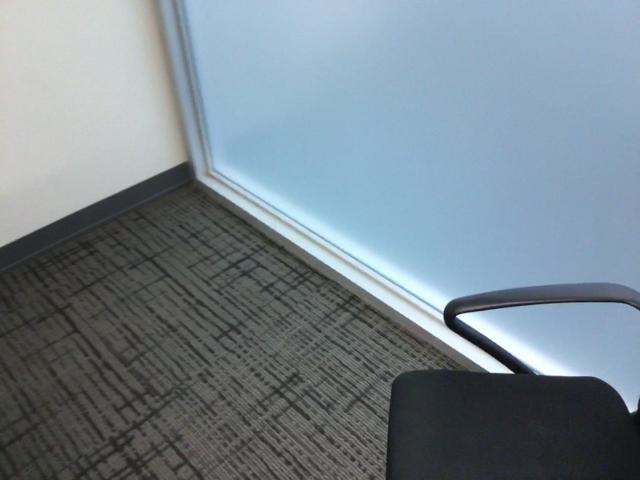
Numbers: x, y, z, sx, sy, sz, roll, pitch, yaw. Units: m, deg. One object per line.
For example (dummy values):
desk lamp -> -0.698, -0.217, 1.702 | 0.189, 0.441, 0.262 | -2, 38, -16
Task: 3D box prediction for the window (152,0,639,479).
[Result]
window -> 0.170, -0.320, 1.450 | 0.240, 1.250, 1.810 | -29, 45, -33
